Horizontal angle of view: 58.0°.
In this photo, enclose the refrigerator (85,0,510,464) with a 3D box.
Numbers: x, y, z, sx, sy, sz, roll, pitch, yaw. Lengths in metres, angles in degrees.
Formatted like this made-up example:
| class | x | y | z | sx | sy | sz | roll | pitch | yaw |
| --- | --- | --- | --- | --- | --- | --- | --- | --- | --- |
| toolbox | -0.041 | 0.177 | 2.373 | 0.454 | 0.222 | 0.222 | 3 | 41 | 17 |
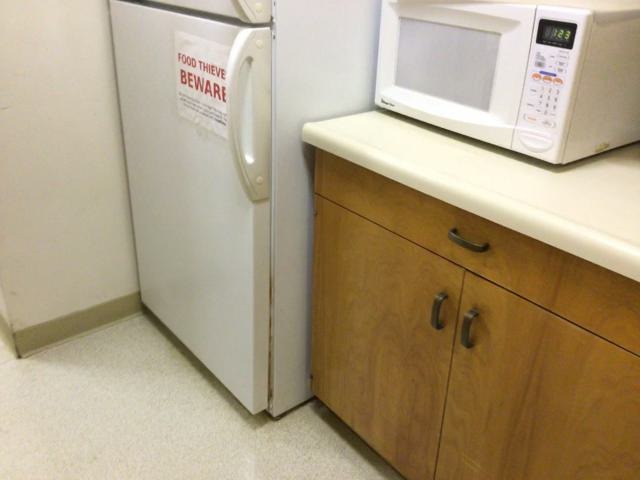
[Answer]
| class | x | y | z | sx | sy | sz | roll | pitch | yaw |
| --- | --- | --- | --- | --- | --- | --- | --- | --- | --- |
| refrigerator | -0.100 | -0.410 | 1.770 | 0.830 | 1.700 | 0.890 | -19 | 33 | -36 |
